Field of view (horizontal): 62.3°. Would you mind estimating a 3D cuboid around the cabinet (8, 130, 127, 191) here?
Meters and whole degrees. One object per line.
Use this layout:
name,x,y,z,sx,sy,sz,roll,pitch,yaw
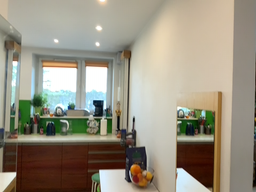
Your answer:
cabinet,-0.960,1.080,3.630,1.770,0.860,0.620,2,0,-9
